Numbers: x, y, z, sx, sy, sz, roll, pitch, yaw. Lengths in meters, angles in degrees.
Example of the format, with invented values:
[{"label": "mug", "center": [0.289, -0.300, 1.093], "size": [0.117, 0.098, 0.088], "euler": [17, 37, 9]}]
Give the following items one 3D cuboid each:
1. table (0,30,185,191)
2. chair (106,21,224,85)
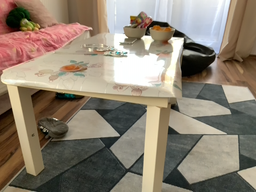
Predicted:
[{"label": "table", "center": [-0.040, -0.030, 1.120], "size": [0.580, 0.460, 0.970], "euler": [8, 25, 13]}, {"label": "chair", "center": [0.390, -0.550, 2.350], "size": [0.910, 0.410, 0.880], "euler": [23, 32, 38]}]
